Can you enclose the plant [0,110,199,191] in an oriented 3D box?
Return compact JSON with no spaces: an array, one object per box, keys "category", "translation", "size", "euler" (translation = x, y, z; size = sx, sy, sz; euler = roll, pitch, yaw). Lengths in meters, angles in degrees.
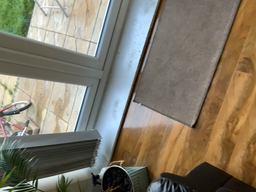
[{"category":"plant","translation":[-0.260,0.570,1.090],"size":[0.540,1.170,0.820],"euler":[31,105,35]}]
